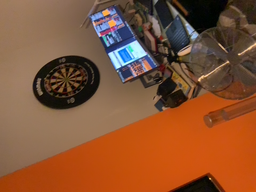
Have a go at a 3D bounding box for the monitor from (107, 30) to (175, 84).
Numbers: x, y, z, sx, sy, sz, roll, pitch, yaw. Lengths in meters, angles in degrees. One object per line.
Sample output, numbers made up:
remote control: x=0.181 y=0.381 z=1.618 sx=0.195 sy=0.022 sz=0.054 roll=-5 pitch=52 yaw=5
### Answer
monitor: x=0.100 y=-0.390 z=2.000 sx=0.060 sy=0.490 sz=0.530 roll=77 pitch=173 yaw=-50

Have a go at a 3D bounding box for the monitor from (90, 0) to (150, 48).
monitor: x=-0.100 y=-0.800 z=2.300 sx=0.040 sy=0.490 sz=0.550 roll=81 pitch=166 yaw=-60

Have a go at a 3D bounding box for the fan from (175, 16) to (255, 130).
fan: x=0.810 y=-0.200 z=1.430 sx=0.460 sy=0.880 sz=0.370 roll=78 pitch=168 yaw=-50
